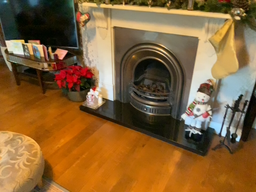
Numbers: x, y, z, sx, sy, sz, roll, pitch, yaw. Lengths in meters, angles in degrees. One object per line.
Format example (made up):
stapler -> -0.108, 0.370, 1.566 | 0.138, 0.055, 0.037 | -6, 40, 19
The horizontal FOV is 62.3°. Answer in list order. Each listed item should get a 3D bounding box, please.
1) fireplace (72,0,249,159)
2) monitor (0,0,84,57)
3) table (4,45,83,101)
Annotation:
fireplace -> 0.260, -0.280, 2.260 | 1.470, 1.230, 0.680 | 17, 33, 27
monitor -> -1.160, -0.910, 2.860 | 1.110, 0.710, 0.050 | 5, 30, 8
table -> -1.230, -0.380, 3.130 | 0.960, 0.480, 0.540 | 17, 33, 27
